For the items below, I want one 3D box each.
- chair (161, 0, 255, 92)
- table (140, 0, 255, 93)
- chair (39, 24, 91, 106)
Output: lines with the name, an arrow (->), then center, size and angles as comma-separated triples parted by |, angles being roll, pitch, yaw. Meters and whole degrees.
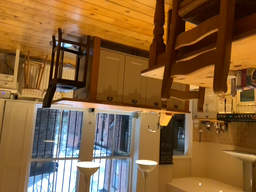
chair -> 0.580, -0.510, 1.290 | 0.540, 0.870, 0.460 | 8, 172, -32
table -> 0.800, -0.520, 1.430 | 0.910, 0.780, 1.190 | 8, 172, -26
chair -> -0.850, -0.370, 2.870 | 0.480, 0.960, 0.400 | 9, 172, -33
